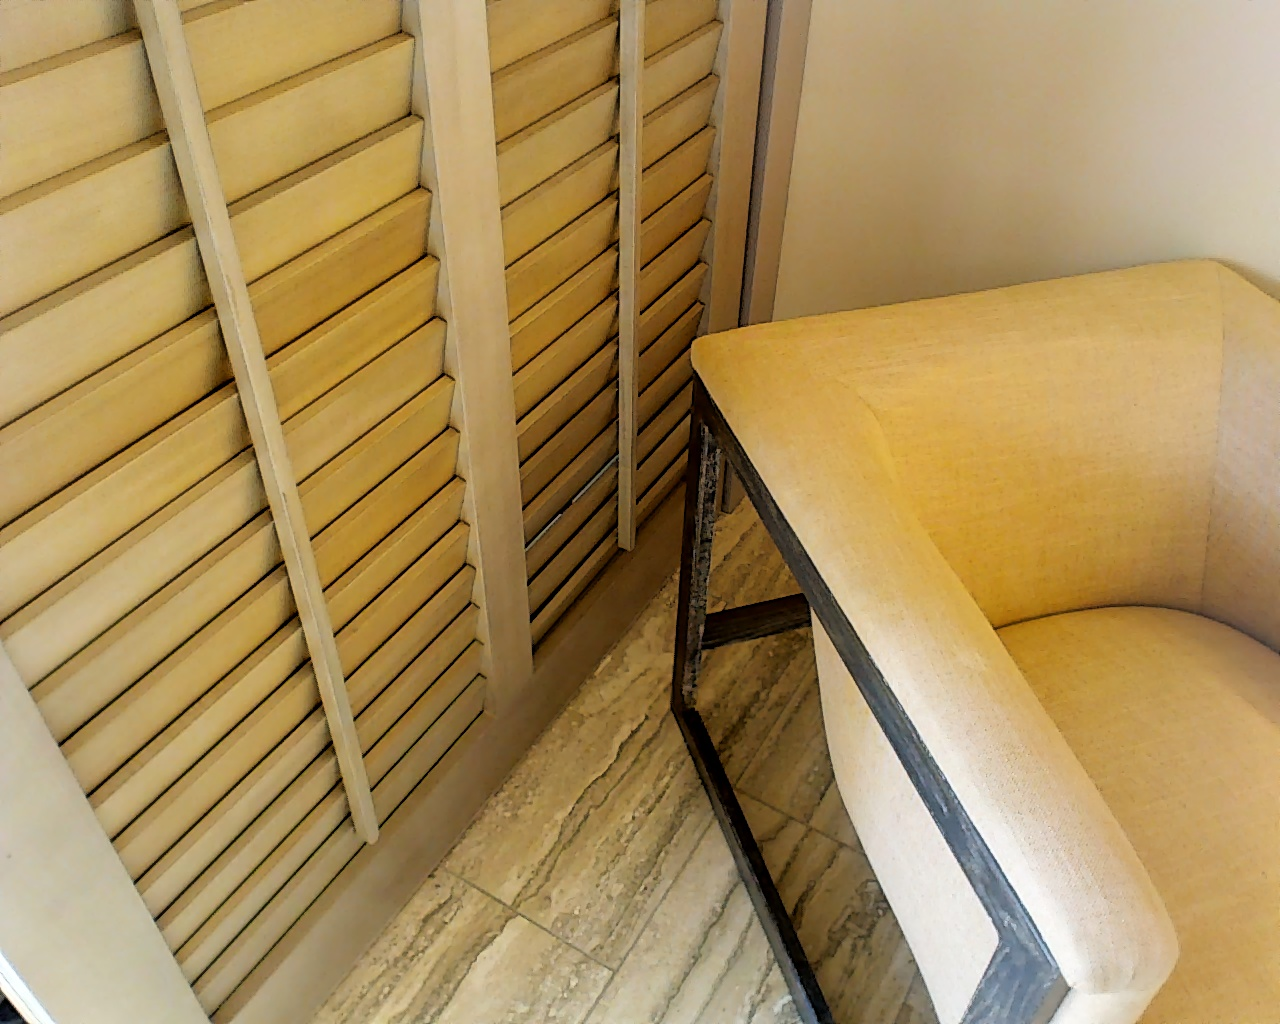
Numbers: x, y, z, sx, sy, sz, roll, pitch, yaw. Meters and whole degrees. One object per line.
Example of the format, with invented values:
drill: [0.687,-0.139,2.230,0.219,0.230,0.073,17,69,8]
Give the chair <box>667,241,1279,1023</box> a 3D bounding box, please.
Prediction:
chair: [0.500,0.230,1.170,0.710,0.660,0.790,-10,43,-13]
